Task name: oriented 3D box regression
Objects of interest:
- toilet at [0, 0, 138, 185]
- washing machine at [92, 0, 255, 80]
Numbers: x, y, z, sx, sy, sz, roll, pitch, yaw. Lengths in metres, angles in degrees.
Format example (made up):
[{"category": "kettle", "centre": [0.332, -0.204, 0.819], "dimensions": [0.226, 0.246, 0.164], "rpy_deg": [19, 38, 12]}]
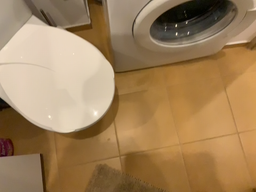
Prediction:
[{"category": "toilet", "centre": [-0.400, -0.110, 0.820], "dimensions": [0.720, 0.720, 0.390], "rpy_deg": [33, 79, 5]}, {"category": "washing machine", "centre": [0.160, -0.490, 0.860], "dimensions": [0.620, 0.850, 0.510], "rpy_deg": [-12, 78, -5]}]
